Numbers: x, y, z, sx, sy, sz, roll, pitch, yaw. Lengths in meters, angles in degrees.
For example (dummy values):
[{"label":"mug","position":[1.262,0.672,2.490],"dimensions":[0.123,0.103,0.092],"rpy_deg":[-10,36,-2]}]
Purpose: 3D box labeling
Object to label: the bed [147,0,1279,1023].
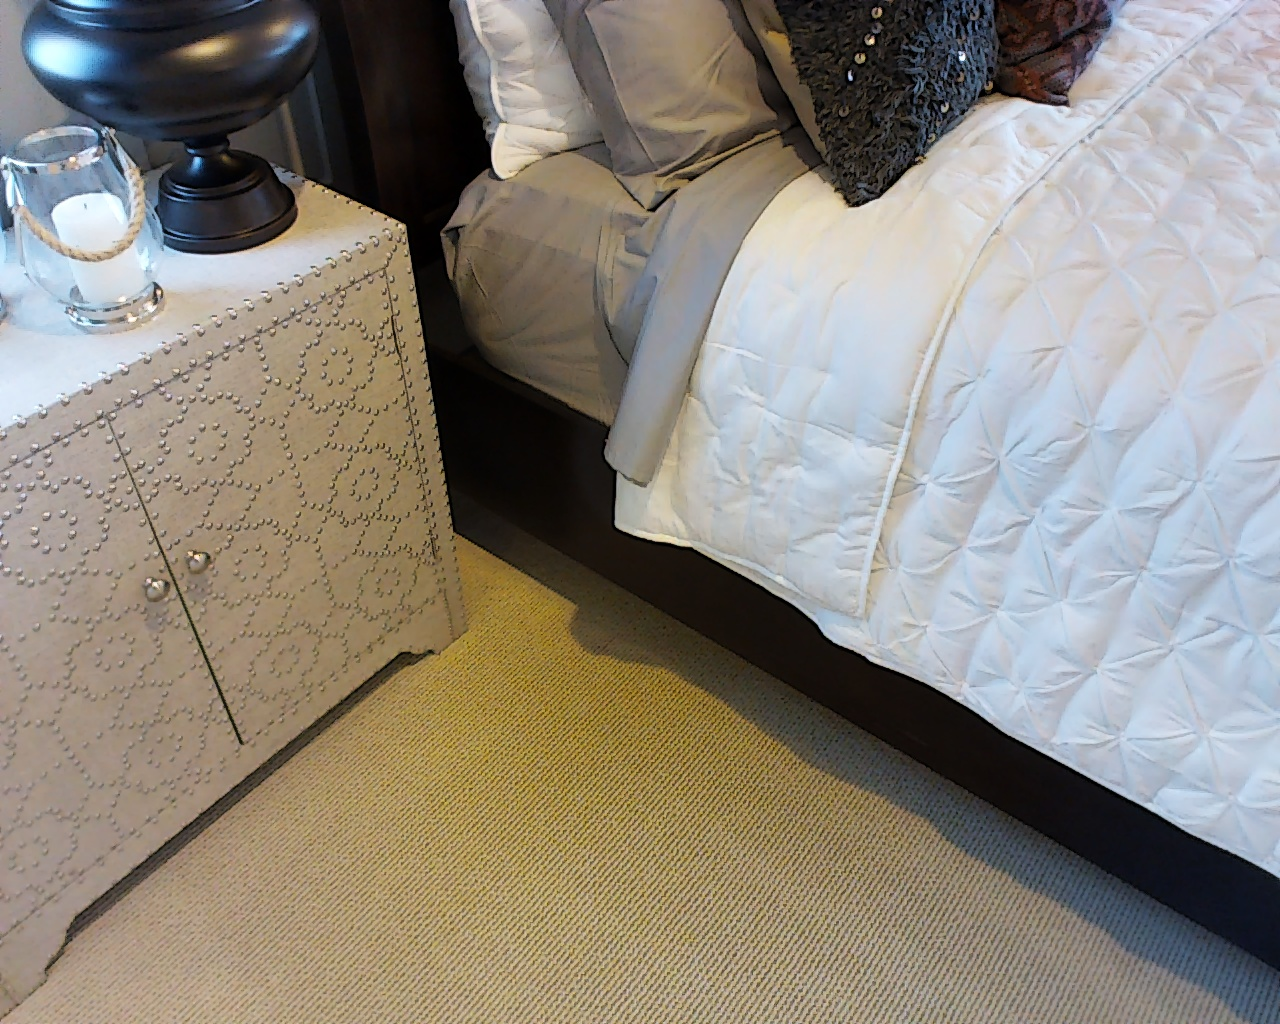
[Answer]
[{"label":"bed","position":[0.950,-0.530,1.800],"dimensions":[2.320,1.140,2.230],"rpy_deg":[28,50,25]}]
